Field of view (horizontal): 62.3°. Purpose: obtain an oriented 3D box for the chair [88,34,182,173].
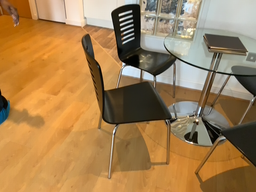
[{"bbox_3d":[-0.010,0.060,1.440,0.450,0.810,0.440,-4,37,-11],"label":"chair"}]
